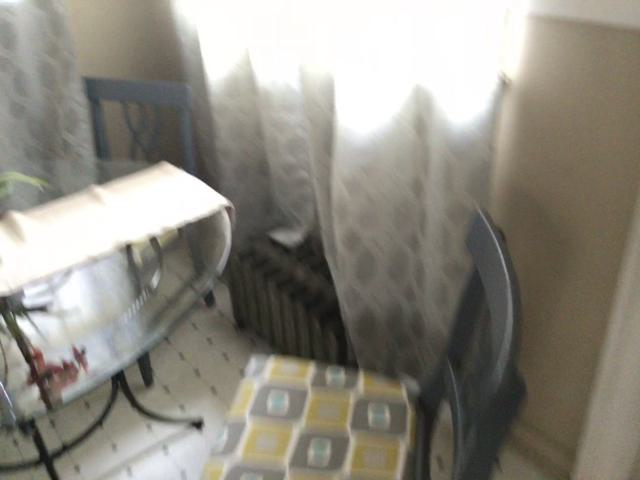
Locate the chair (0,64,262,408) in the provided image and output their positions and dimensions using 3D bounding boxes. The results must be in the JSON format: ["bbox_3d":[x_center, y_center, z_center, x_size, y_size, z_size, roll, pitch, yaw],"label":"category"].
[{"bbox_3d":[-0.700,-0.070,2.040,0.630,0.880,0.670,-27,37,-36],"label":"chair"}]

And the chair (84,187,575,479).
[{"bbox_3d":[0.060,0.400,1.170,0.630,0.830,0.560,3,30,11],"label":"chair"}]
